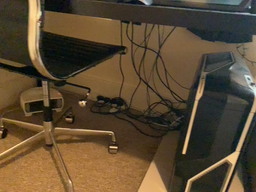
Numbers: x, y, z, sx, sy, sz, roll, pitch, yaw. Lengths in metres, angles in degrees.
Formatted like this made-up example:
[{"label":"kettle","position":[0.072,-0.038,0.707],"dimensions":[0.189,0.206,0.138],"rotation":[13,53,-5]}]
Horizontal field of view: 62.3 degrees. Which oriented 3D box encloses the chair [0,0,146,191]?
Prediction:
[{"label":"chair","position":[-0.360,-0.240,0.820],"dimensions":[0.640,1.180,0.720],"rotation":[14,26,17]}]
